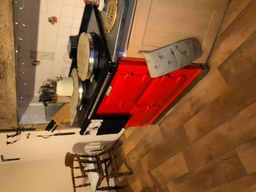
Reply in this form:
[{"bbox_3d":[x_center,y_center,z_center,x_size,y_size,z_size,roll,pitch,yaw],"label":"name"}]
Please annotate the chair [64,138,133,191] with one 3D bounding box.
[{"bbox_3d":[-0.470,1.080,3.160,0.600,0.810,0.560,57,139,48],"label":"chair"}]
